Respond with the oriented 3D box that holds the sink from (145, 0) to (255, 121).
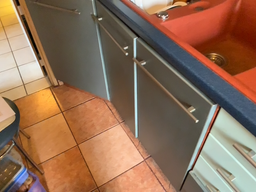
[{"bbox_3d":[0.370,-0.190,0.830,0.460,0.200,0.380,-24,51,-19],"label":"sink"}]
